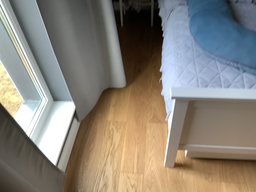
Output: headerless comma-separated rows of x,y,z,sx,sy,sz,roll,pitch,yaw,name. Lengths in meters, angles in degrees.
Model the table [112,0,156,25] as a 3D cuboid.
0.080,-1.220,2.390,0.480,0.690,0.400,2,48,5,table
